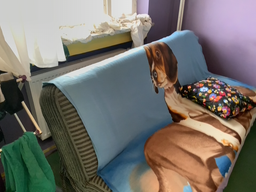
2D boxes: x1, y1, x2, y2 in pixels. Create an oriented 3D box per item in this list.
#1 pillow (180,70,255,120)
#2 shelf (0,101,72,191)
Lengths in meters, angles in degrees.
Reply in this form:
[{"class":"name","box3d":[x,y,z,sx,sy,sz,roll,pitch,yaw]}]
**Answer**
[{"class":"pillow","box3d":[0.840,-0.040,1.940,0.480,0.140,0.510,-17,34,-31]},{"class":"shelf","box3d":[-0.840,0.550,1.300,0.470,0.680,0.790,24,36,35]}]
